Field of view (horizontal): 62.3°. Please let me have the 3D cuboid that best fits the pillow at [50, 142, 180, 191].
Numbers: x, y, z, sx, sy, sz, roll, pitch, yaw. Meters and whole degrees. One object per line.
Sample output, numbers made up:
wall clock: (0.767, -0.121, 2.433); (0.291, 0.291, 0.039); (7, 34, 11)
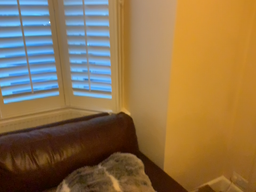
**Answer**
pillow: (-0.080, 0.550, 1.110); (0.500, 0.260, 0.520); (-12, 24, -28)
